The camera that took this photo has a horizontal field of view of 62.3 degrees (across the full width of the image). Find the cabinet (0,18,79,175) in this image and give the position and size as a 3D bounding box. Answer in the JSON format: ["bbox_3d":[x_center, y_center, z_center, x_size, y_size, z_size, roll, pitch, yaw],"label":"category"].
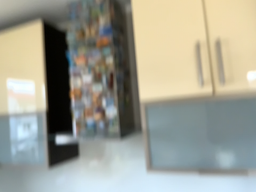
[{"bbox_3d":[-0.940,0.050,1.660,1.020,0.990,0.320,-6,-4,21],"label":"cabinet"}]
